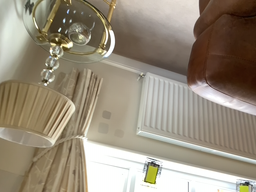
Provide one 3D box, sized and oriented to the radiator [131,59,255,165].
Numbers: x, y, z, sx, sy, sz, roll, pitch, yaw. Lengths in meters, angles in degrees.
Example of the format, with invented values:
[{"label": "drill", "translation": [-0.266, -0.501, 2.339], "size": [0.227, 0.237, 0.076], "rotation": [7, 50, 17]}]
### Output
[{"label": "radiator", "translation": [0.800, 0.180, 2.030], "size": [1.470, 0.720, 0.180], "rotation": [15, 150, -10]}]
